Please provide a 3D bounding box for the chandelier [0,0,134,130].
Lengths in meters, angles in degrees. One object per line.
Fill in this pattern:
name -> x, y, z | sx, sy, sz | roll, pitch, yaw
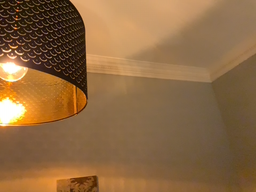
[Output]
chandelier -> -0.490, -0.440, 1.040 | 0.740, 1.030, 0.730 | -2, 158, -15
